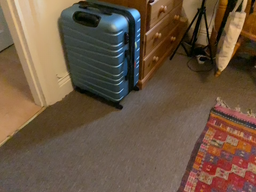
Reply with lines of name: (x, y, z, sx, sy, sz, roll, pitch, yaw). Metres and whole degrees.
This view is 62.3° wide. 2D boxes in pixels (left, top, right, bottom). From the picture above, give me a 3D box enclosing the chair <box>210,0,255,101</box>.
chair: (1.020, -0.430, 1.590, 0.450, 0.780, 0.460, 24, 46, 23)
